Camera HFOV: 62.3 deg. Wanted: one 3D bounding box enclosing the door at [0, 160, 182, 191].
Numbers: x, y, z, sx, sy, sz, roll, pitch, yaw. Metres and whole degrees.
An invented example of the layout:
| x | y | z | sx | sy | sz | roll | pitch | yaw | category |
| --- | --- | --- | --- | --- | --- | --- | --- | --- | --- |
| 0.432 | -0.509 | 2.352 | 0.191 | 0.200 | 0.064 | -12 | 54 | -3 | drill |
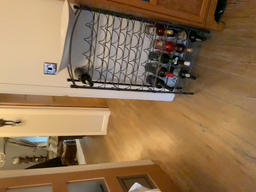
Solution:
| x | y | z | sx | sy | sz | roll | pitch | yaw | category |
| --- | --- | --- | --- | --- | --- | --- | --- | --- | --- |
| -0.460 | 0.810 | 1.560 | 0.770 | 1.970 | 0.090 | -139 | 56 | -61 | door |

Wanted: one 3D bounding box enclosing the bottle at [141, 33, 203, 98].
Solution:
| x | y | z | sx | sy | sz | roll | pitch | yaw | category |
| --- | --- | --- | --- | --- | --- | --- | --- | --- | --- |
| 0.360 | -0.250 | 1.800 | 0.210 | 0.360 | 0.480 | -140 | 56 | -61 | bottle |
